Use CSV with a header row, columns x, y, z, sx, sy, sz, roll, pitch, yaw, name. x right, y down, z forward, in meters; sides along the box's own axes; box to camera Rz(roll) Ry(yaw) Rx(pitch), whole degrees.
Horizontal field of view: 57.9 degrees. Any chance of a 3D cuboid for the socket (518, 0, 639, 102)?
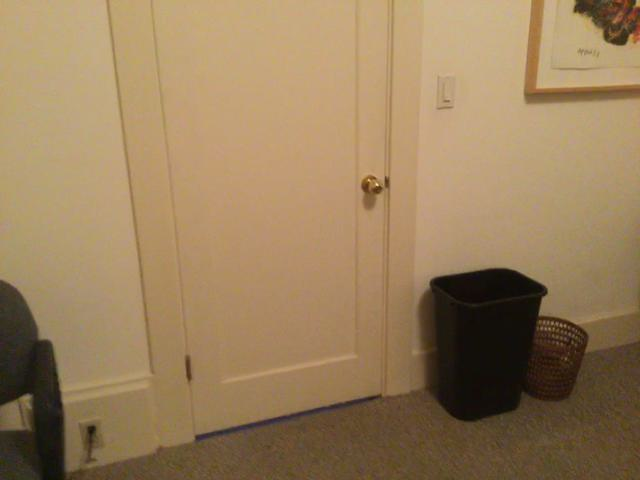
x,y,z,sx,sy,sz,roll,pitch,yaw,name
1.160,-0.910,2.110,0.930,0.720,0.120,-10,18,-19,socket
